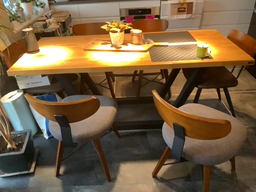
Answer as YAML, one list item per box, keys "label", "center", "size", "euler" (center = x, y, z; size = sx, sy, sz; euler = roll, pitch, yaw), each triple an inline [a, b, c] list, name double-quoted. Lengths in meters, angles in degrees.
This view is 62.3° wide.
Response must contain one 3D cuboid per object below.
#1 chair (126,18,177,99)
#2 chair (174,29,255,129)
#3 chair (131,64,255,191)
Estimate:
- label: "chair"
  center: [0.250, -0.460, 2.570]
  size: [0.510, 0.770, 0.610]
  euler: [-2, 33, 1]
- label: "chair"
  center: [0.800, -0.160, 2.030]
  size: [0.560, 0.800, 0.490]
  euler: [-3, 33, 0]
- label: "chair"
  center: [0.420, 0.300, 1.390]
  size: [0.610, 0.760, 0.480]
  euler: [-27, 40, -33]
